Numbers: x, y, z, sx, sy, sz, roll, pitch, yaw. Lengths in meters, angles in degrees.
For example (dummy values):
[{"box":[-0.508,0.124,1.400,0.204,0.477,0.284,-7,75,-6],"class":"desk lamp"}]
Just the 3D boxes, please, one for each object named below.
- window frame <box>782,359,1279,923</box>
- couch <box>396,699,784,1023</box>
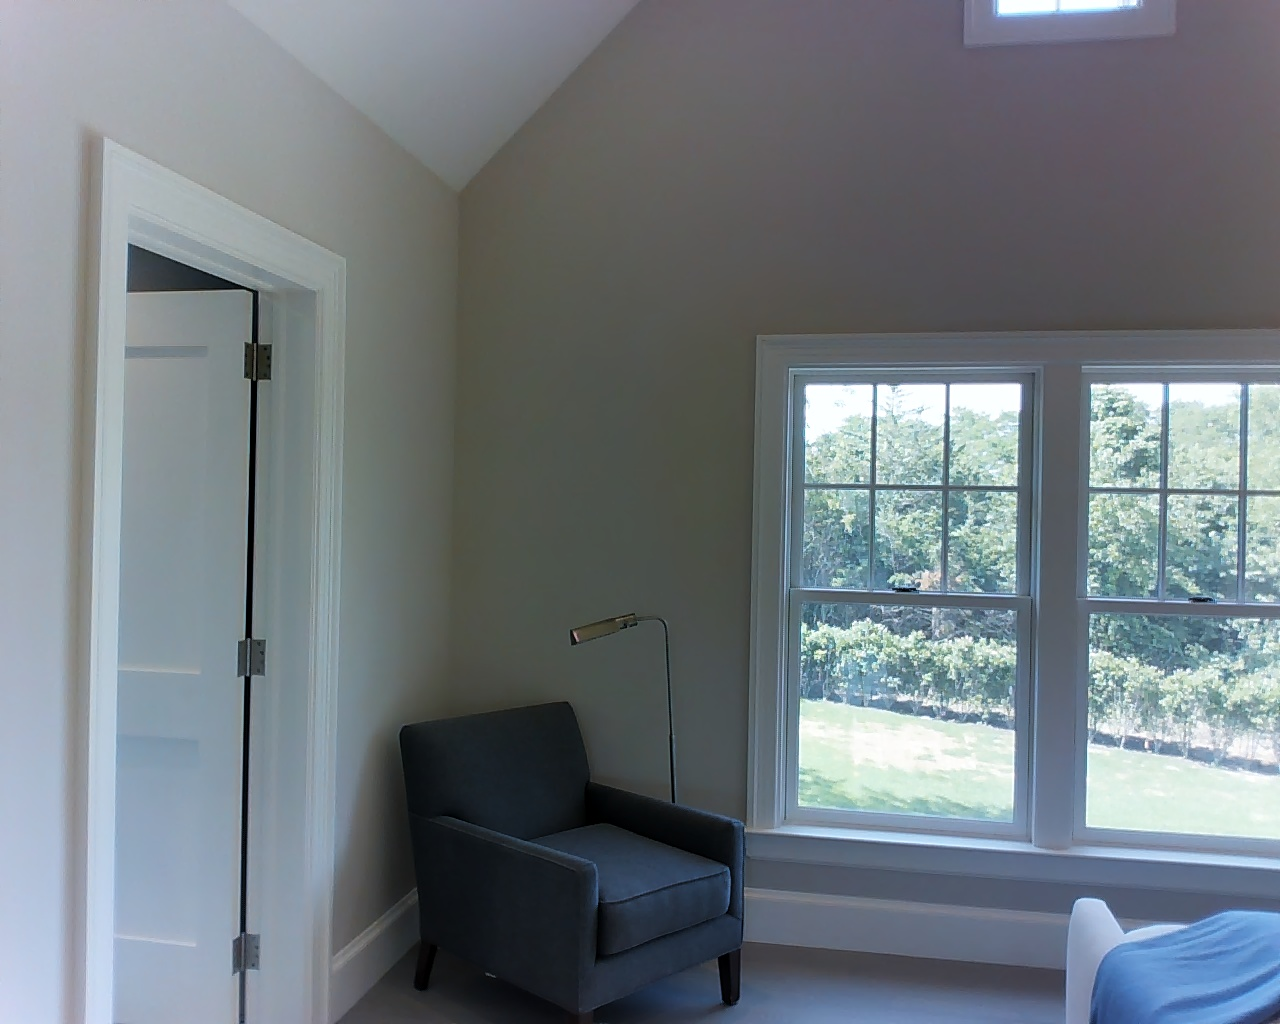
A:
[{"box":[1.470,0.410,3.770,1.880,1.850,0.220,1,0,11],"class":"window frame"},{"box":[-0.170,1.110,3.470,0.840,0.800,0.920,1,0,-42],"class":"couch"}]
